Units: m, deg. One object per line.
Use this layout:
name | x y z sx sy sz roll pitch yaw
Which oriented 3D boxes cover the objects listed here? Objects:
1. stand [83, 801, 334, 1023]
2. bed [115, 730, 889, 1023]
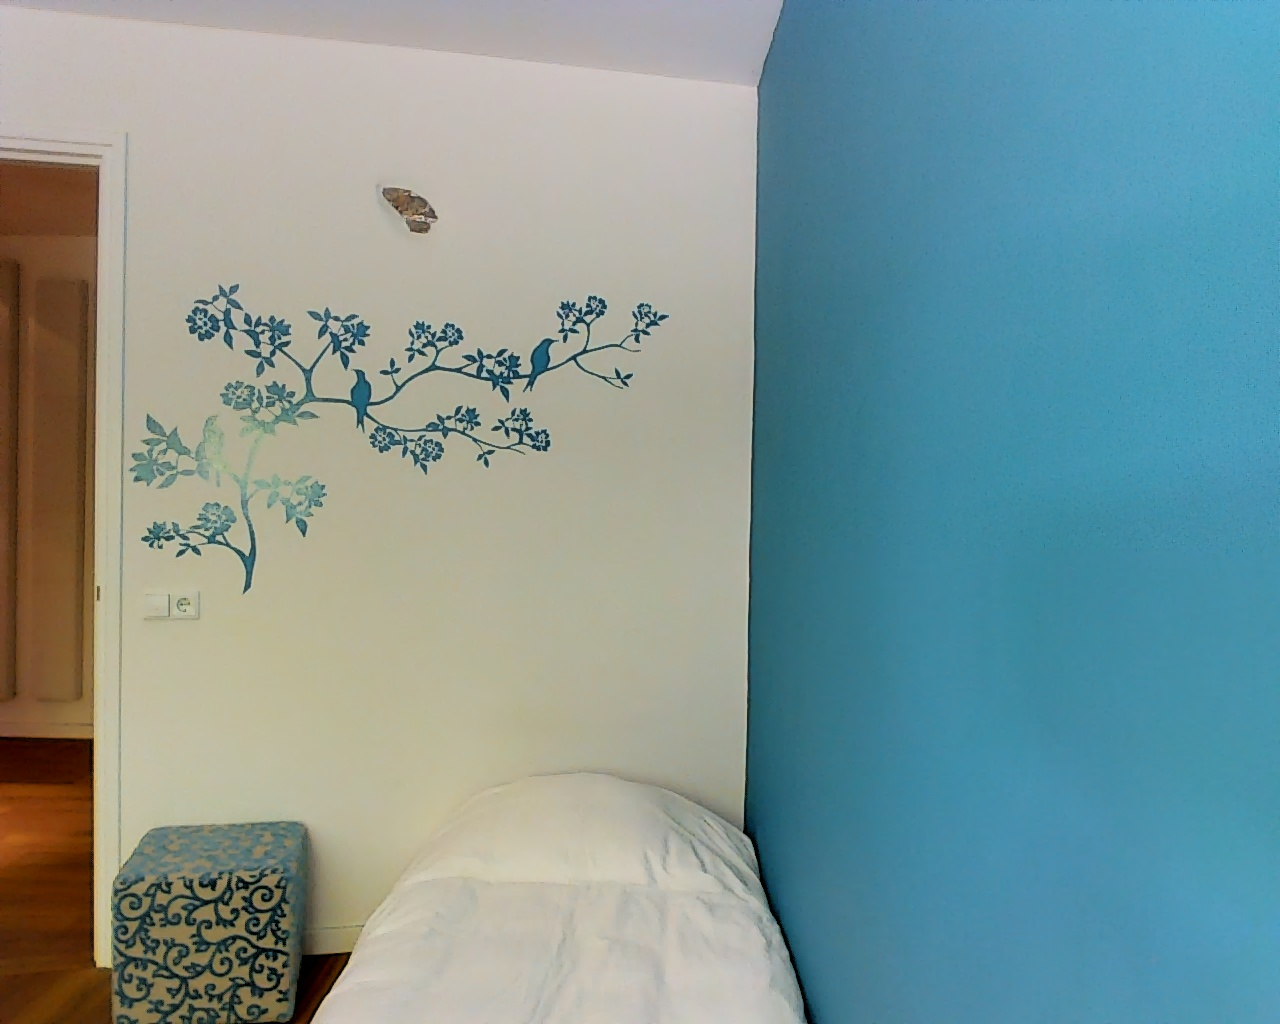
stand | -1.130 1.090 2.910 0.570 0.440 0.510 1 1 -15
bed | -0.210 1.040 2.320 1.140 0.600 2.320 1 1 -1
